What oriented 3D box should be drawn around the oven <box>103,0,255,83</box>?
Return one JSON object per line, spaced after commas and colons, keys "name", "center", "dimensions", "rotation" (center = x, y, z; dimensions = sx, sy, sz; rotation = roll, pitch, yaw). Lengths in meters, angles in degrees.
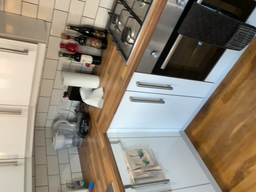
{"name": "oven", "center": [0.290, -0.540, 1.460], "dimensions": [0.620, 0.650, 0.580], "rotation": [-64, 35, 34]}
